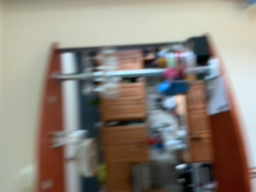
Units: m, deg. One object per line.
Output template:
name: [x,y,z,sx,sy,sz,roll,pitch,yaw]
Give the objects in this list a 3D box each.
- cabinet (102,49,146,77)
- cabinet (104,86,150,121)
cabinet: [-0.070,-0.610,4.000,0.300,0.780,0.400,90,176,-82]
cabinet: [-0.020,0.140,3.890,0.300,0.780,0.570,90,176,-82]
